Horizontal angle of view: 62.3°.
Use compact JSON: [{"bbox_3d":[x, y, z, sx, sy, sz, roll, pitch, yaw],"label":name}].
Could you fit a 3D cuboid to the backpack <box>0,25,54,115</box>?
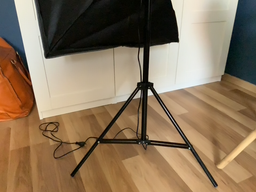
[{"bbox_3d":[-0.790,-0.200,1.430,0.450,0.450,0.480,-10,28,-21],"label":"backpack"}]
